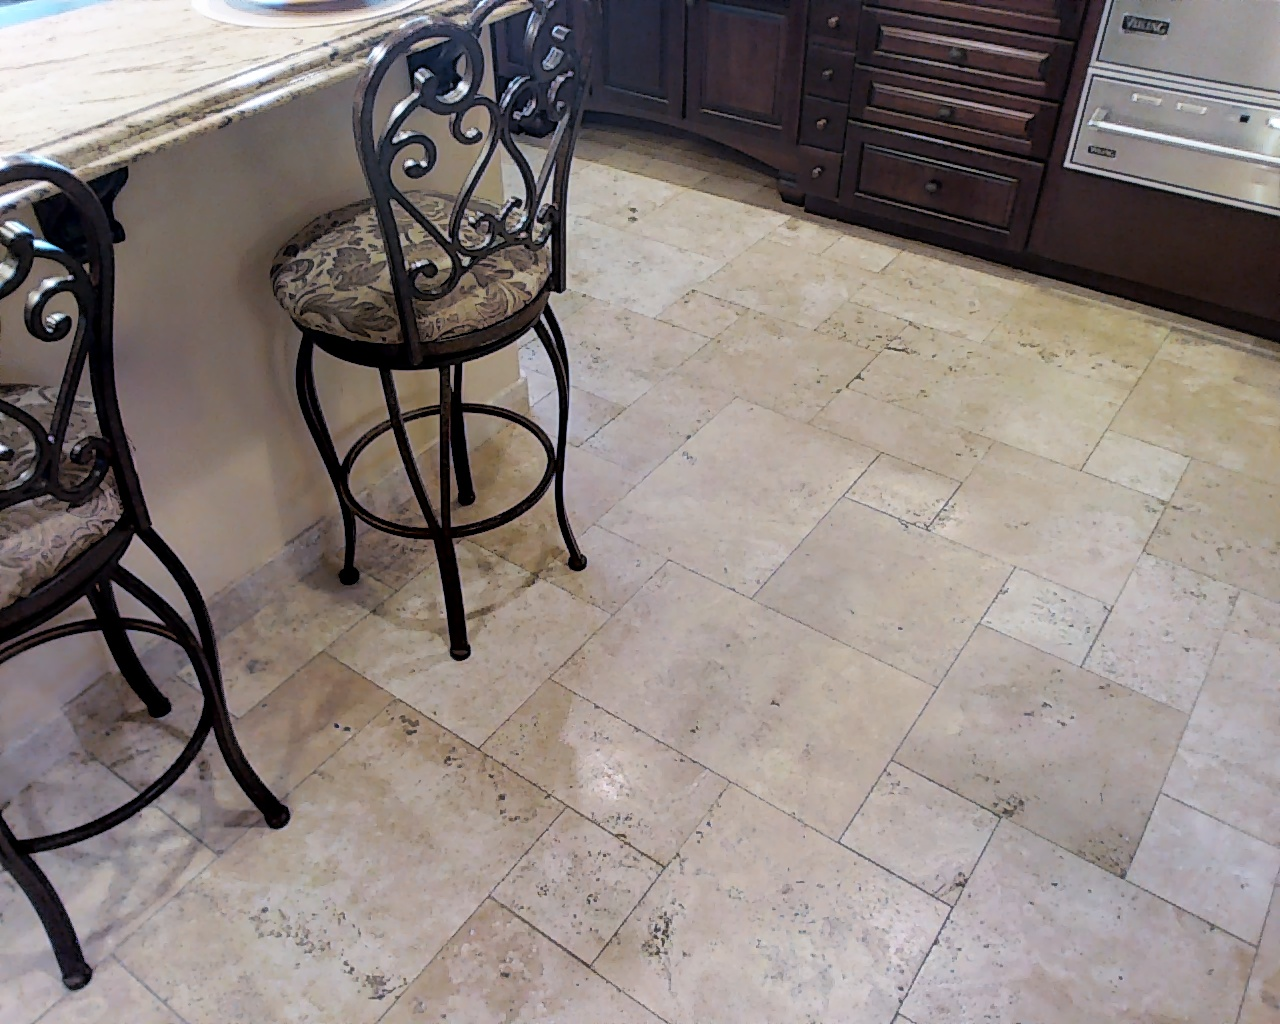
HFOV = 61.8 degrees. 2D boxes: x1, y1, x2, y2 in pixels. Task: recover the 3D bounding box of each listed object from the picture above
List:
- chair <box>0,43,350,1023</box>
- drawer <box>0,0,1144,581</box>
[{"bbox_3d":[-0.880,0.050,1.400,0.600,1.170,0.500,25,47,26],"label":"chair"},{"bbox_3d":[-0.950,-1.609,3.590,4.451,0.850,2.250,24,47,25],"label":"drawer"}]
